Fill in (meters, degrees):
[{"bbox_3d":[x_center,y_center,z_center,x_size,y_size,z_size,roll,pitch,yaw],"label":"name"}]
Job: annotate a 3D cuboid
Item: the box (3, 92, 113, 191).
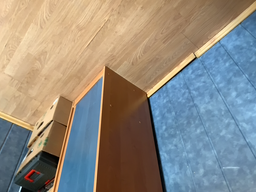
[{"bbox_3d":[-0.470,0.400,1.590,0.470,0.500,0.530,-38,123,26],"label":"box"}]
